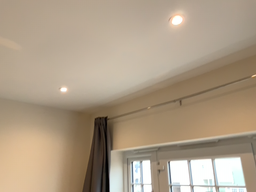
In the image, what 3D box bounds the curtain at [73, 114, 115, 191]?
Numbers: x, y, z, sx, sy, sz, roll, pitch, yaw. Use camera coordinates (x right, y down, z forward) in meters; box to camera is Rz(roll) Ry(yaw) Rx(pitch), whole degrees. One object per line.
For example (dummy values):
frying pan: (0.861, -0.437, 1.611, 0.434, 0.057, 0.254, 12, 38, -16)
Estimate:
curtain: (-0.390, 1.480, 2.300, 0.260, 2.500, 0.470, 16, -26, -40)
